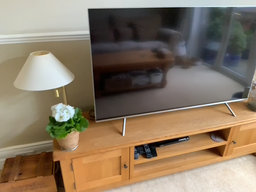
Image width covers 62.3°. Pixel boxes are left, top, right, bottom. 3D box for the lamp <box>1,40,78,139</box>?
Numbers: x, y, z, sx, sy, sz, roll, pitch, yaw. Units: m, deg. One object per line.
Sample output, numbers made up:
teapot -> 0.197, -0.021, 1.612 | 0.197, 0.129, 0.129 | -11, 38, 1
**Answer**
lamp -> -0.540, -0.060, 1.390 | 0.340, 0.510, 0.360 | -7, 30, -16
